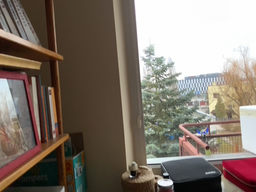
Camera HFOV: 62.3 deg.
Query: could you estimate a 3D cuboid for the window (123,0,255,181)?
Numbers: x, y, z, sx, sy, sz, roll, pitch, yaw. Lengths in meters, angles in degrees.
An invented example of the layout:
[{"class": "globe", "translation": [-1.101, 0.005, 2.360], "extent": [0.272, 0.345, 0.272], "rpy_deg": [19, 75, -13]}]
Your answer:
[{"class": "window", "translation": [0.760, -0.220, 1.340], "extent": [1.520, 1.360, 0.180], "rpy_deg": [-4, 2, 0]}]
